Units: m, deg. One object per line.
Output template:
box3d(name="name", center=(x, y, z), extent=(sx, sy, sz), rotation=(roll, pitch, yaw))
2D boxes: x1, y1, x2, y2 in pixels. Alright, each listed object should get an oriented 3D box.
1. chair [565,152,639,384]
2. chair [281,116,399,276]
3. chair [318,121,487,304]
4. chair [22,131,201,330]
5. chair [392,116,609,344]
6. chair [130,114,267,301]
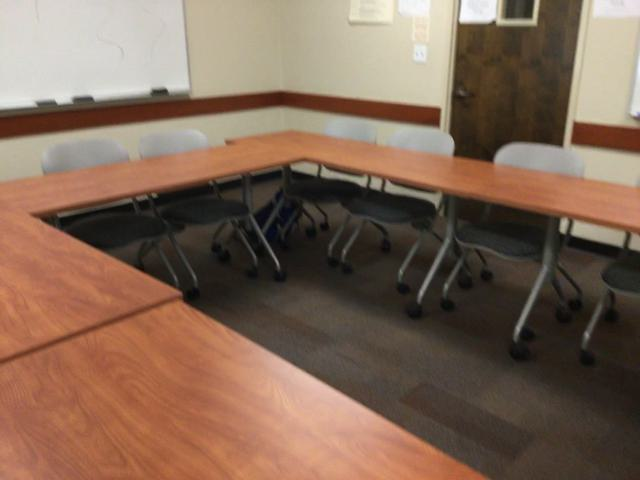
box3d(name="chair", center=(1.450, 0.110, 2.380), extent=(0.530, 0.800, 0.610), rotation=(18, 26, 39))
box3d(name="chair", center=(0.110, -0.290, 3.460), extent=(0.490, 0.800, 0.470), rotation=(18, 26, 39))
box3d(name="chair", center=(0.440, -0.200, 3.260), extent=(0.710, 0.800, 0.550), rotation=(18, 26, 39))
box3d(name="chair", center=(-1.040, -0.090, 2.960), extent=(0.550, 0.800, 0.590), rotation=(18, 26, 39))
box3d(name="chair", center=(0.860, -0.110, 2.830), extent=(0.710, 0.850, 0.660), rotation=(18, 26, 39))
box3d(name="chair", center=(-0.660, -0.210, 3.220), extent=(0.550, 0.870, 0.460), rotation=(18, 27, 40))
